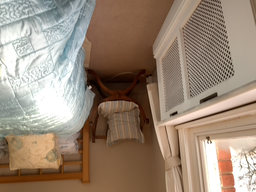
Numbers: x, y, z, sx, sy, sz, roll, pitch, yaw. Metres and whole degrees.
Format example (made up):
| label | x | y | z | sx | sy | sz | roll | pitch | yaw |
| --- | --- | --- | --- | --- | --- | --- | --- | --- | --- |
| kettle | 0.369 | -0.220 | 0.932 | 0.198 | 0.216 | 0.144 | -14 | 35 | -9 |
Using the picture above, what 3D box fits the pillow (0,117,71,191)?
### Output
| label | x | y | z | sx | sy | sz | roll | pitch | yaw |
| --- | --- | --- | --- | --- | --- | --- | --- | --- | --- |
| pillow | -0.850 | 0.520 | 1.890 | 0.460 | 0.450 | 0.160 | -37 | 162 | -20 |
